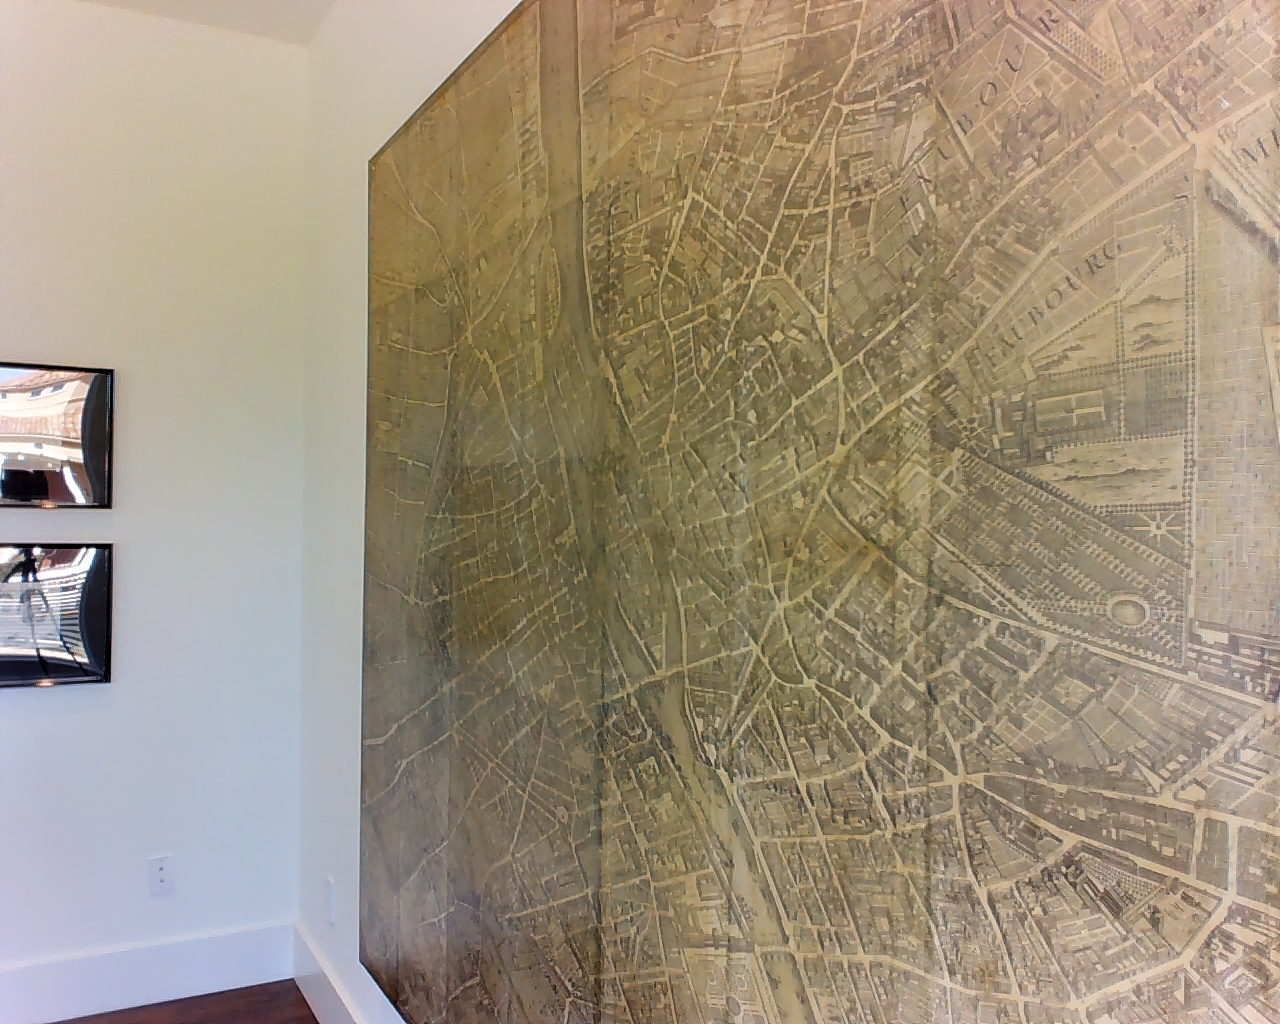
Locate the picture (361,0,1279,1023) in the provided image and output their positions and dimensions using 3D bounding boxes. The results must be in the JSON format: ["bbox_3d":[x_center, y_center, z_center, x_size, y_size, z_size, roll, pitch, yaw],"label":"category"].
[{"bbox_3d":[-0.040,0.090,1.560,0.050,1.920,2.510,1,0,-29],"label":"picture"}]
